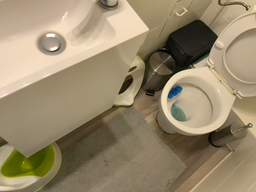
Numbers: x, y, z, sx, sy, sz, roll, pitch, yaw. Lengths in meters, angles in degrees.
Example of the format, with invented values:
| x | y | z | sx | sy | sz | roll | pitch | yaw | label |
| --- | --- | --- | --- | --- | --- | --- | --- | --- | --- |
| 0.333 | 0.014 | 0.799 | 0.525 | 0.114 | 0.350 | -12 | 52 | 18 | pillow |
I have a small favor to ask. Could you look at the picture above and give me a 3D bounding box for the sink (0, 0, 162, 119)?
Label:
| x | y | z | sx | sy | sz | roll | pitch | yaw | label |
| --- | --- | --- | --- | --- | --- | --- | --- | --- | --- |
| -0.190 | -0.170 | 0.500 | 0.440 | 0.110 | 0.300 | -27 | 75 | -24 | sink |
